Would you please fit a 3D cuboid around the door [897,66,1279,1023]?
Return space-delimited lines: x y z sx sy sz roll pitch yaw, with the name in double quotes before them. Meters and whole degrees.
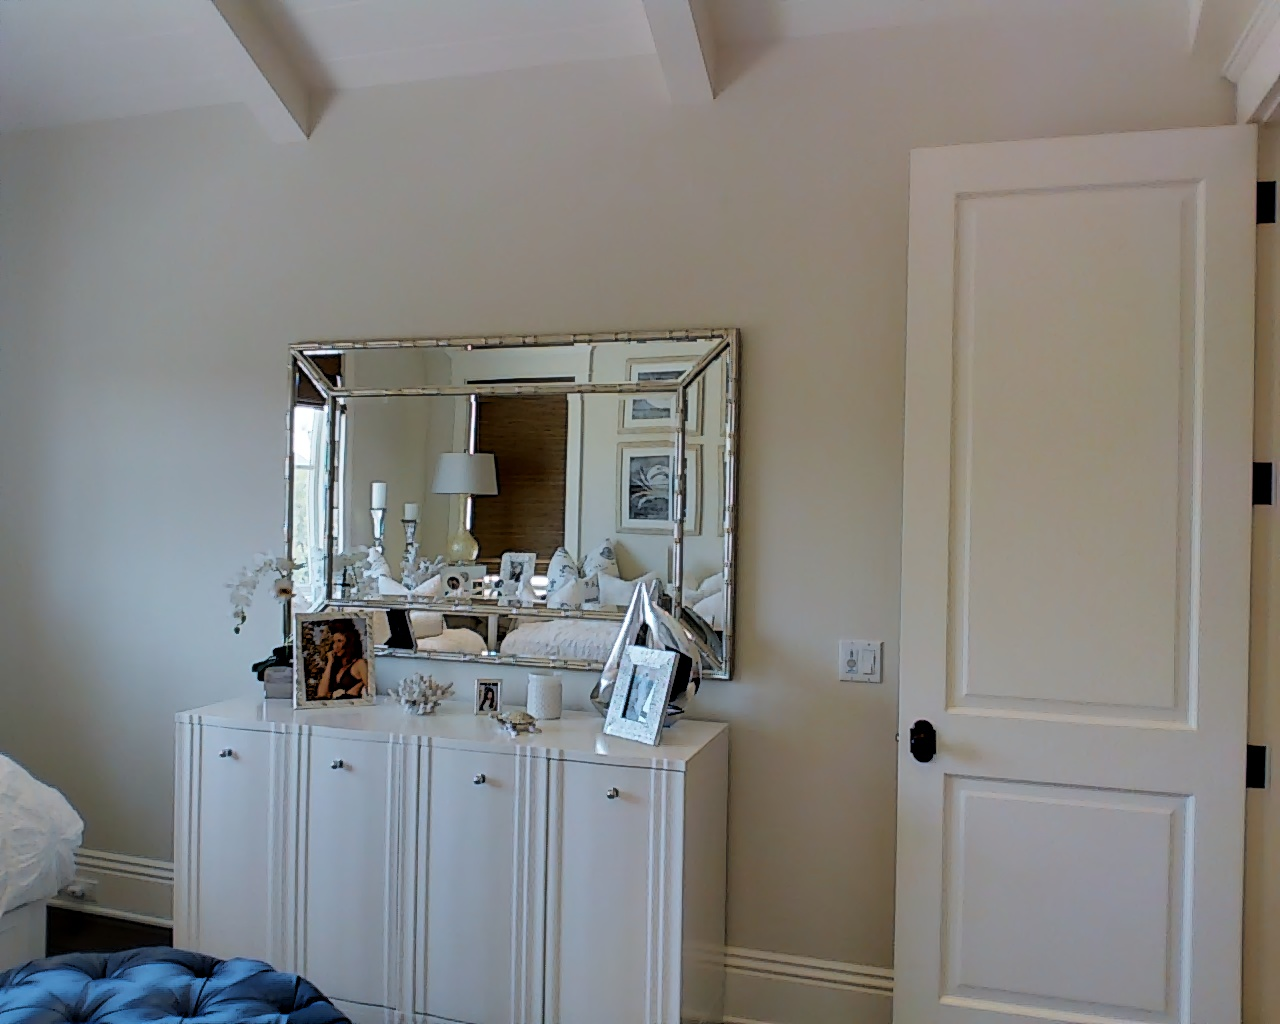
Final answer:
"door" 1.189 0.240 2.700 0.990 2.541 0.290 1 0 18

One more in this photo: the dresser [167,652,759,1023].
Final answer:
"dresser" -0.510 0.980 3.110 1.599 0.980 0.560 1 0 18
